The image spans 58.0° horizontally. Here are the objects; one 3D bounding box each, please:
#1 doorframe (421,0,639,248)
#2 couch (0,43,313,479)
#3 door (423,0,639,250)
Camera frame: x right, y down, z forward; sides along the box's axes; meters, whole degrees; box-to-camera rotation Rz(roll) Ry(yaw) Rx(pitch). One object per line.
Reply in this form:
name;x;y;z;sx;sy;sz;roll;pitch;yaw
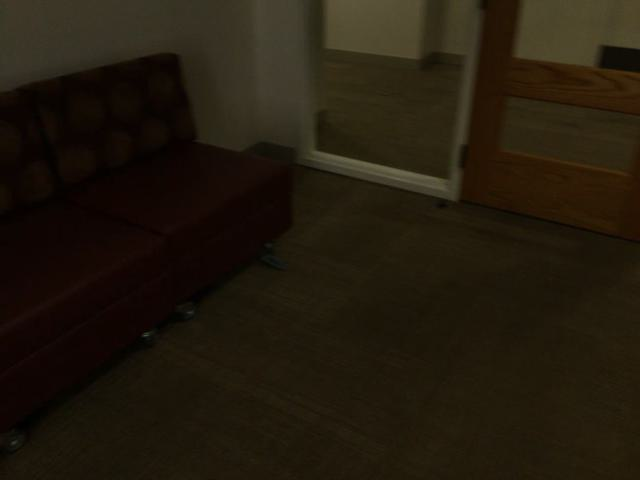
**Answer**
doorframe;1.080;-0.600;2.500;1.140;1.090;0.290;14;30;25
couch;-1.190;0.350;1.090;0.750;0.900;3.500;14;30;25
door;1.050;-0.690;2.480;1.030;1.260;0.350;14;30;25
